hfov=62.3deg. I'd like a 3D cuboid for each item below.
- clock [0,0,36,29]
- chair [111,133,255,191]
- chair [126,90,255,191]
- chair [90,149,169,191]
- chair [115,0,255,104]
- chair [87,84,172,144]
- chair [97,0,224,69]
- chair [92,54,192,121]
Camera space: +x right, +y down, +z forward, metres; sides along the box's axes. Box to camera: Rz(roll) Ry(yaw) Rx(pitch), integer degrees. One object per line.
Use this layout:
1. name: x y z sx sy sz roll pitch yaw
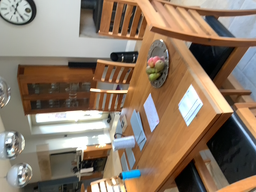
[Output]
1. clock: -1.740 -1.340 3.260 0.630 0.560 0.050 109 152 -45
2. chair: 0.470 0.790 1.920 0.490 1.080 0.630 111 150 -48
3. chair: 0.630 0.370 1.420 0.510 1.080 0.620 111 150 -48
4. chair: -0.010 1.270 3.340 0.480 1.080 0.540 -118 31 -50
5. chair: 0.530 -0.350 1.630 0.610 1.090 0.490 108 152 -45
6. chair: -0.020 0.240 3.240 0.680 1.080 0.490 -111 27 -42
7. chair: 0.290 -0.660 2.230 0.460 1.100 0.590 109 151 -46
8. chair: 0.140 -0.110 2.760 0.520 1.080 0.650 125 139 -60
